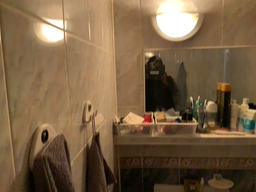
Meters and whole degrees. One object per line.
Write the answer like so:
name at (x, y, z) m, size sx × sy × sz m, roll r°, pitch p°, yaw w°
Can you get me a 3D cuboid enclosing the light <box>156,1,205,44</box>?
light at (0.320, -0.450, 1.320) m, size 0.280 × 0.230 × 0.090 m, roll 0°, pitch 7°, yaw 4°
